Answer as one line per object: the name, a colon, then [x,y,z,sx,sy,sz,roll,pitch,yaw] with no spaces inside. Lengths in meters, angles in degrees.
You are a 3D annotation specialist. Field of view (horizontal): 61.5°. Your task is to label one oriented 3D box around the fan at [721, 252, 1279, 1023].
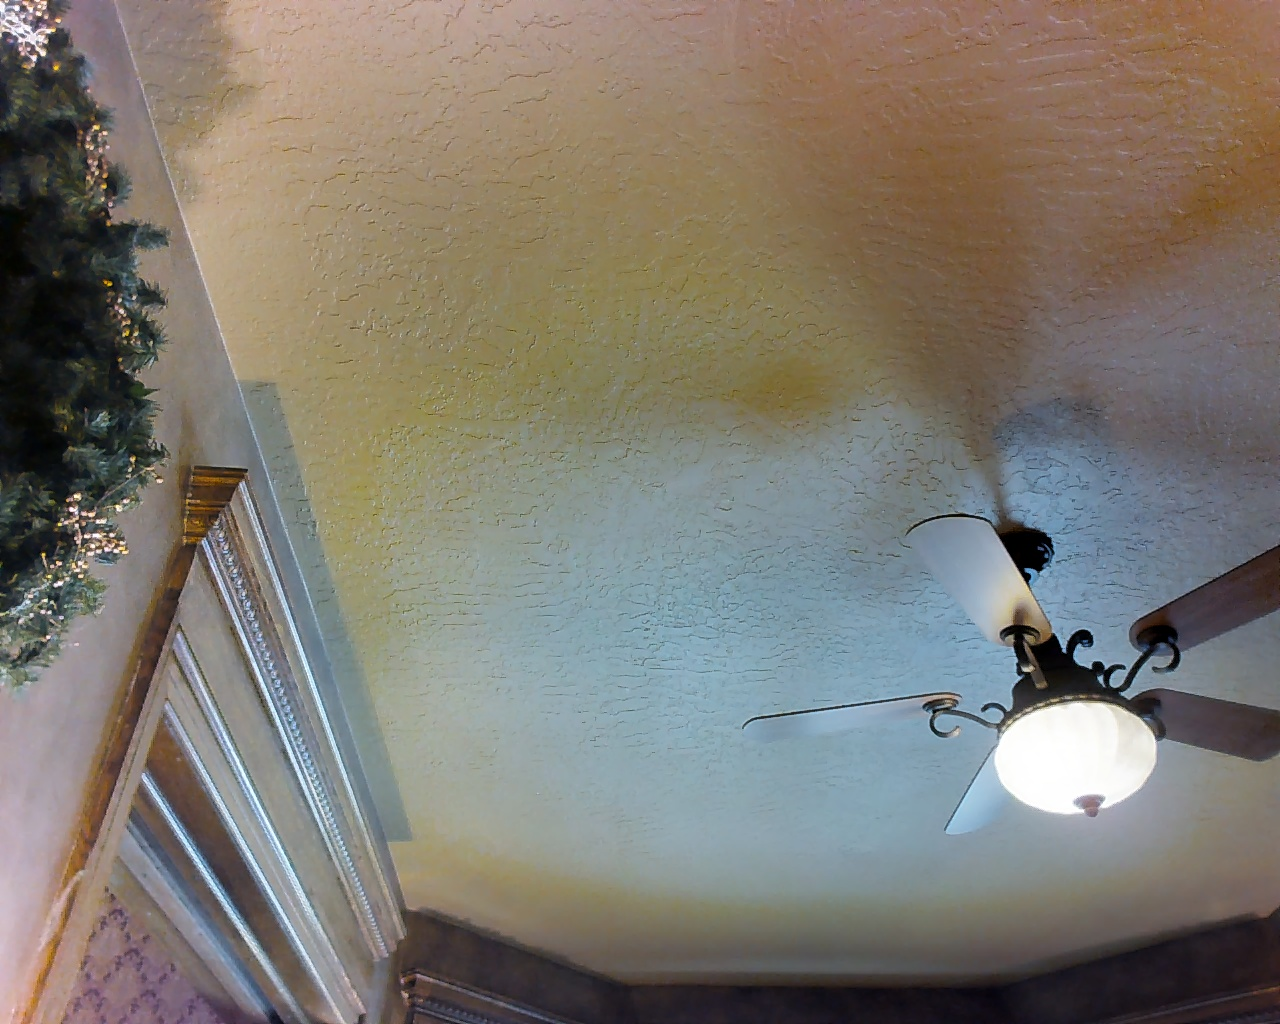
fan: [0.860,0.320,2.350,0.460,1.300,1.290,33,42,-2]
